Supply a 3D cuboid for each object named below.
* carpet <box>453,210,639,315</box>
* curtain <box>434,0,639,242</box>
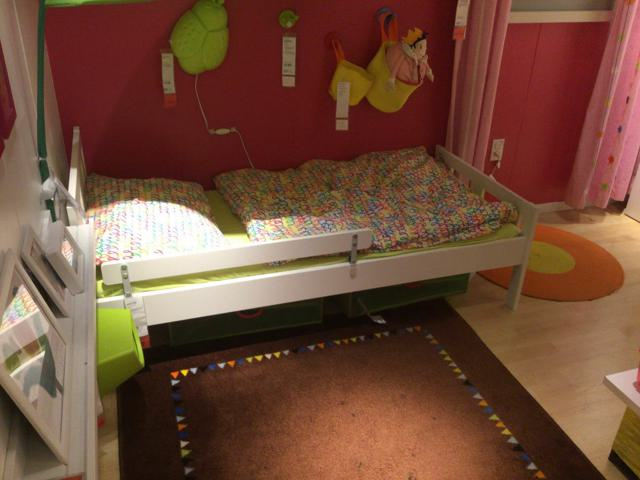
[{"bbox_3d":[1.080,0.070,2.630,0.700,0.050,0.710,-8,28,-8],"label":"carpet"},{"bbox_3d":[1.200,-1.150,2.410,1.360,2.300,0.210,-8,28,-9],"label":"curtain"}]
